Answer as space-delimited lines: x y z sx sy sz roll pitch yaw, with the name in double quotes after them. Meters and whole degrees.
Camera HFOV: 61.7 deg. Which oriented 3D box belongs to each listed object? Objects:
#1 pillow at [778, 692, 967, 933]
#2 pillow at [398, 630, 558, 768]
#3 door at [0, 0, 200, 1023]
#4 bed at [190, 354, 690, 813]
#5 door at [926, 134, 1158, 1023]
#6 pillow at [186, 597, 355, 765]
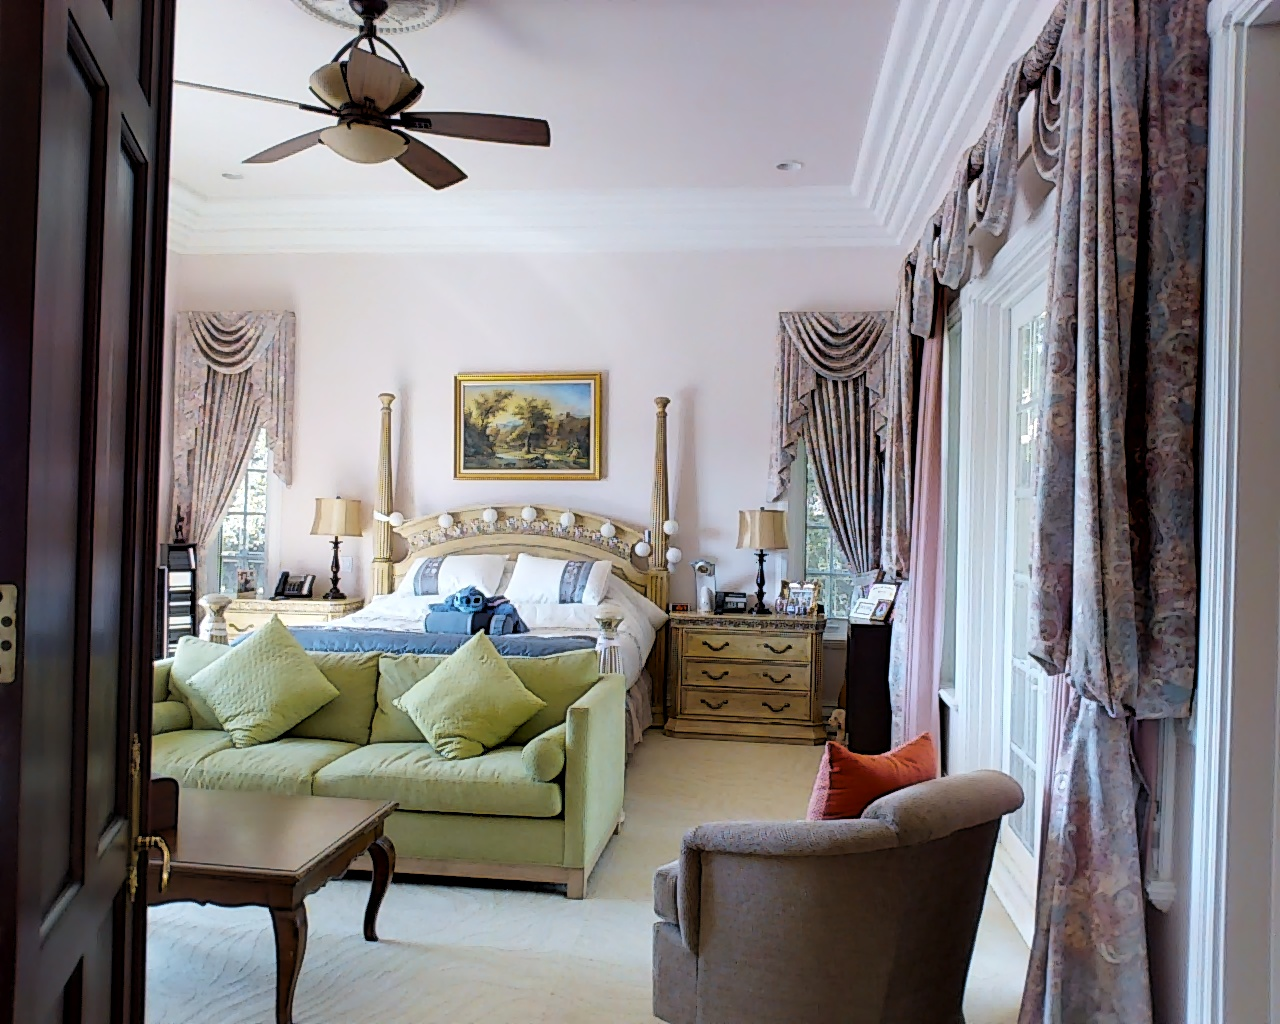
0.620 0.770 2.830 0.240 0.400 0.520 12 18 41 "pillow"
-0.680 0.760 4.460 0.530 0.470 0.420 2 0 -29 "pillow"
-0.780 0.160 1.500 0.140 2.450 0.770 2 0 -14 "door"
-0.940 0.310 6.280 2.190 2.110 2.330 2 0 8 "bed"
1.370 0.240 4.000 0.210 2.450 2.430 2 0 8 "door"
-1.580 0.710 4.590 0.620 0.550 0.310 -6 15 -21 "pillow"
